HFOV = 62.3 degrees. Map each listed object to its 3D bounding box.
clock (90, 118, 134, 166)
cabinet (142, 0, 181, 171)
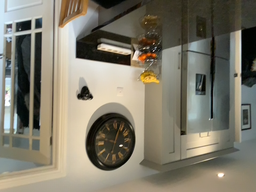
[{"bbox_3d":[-0.150,0.450,2.150,0.480,0.420,0.050,1,179,-37],"label":"clock"},{"bbox_3d":[0.390,-0.290,2.450,0.330,2.160,0.290,1,179,-38],"label":"cabinet"}]
